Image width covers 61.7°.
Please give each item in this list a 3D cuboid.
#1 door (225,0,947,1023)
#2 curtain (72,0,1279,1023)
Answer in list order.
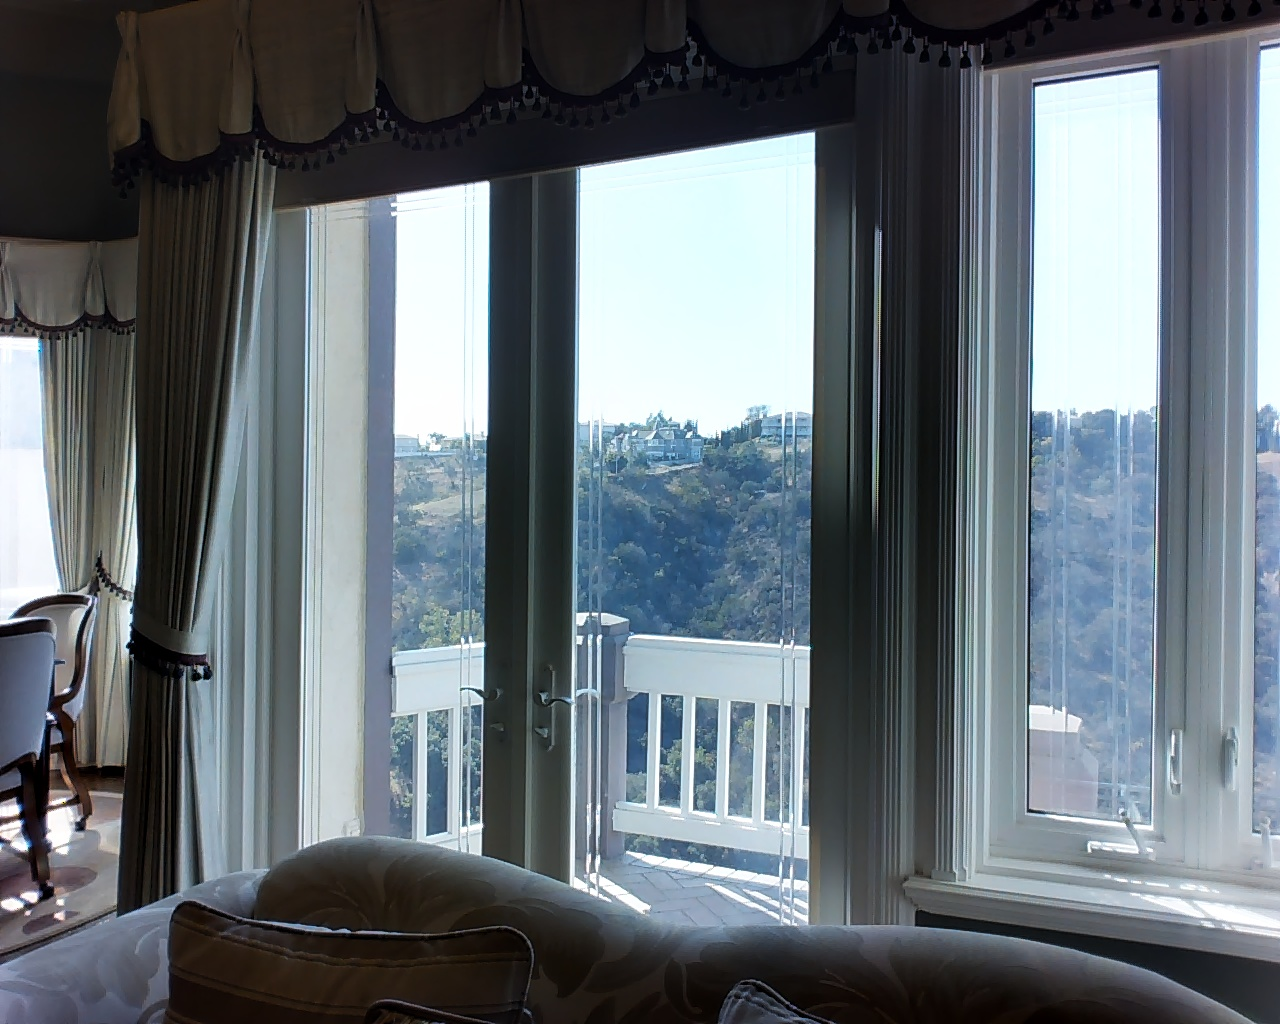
[{"bbox_3d":[-0.250,0.200,2.680,1.940,2.450,0.240,0,1,27],"label":"door"},{"bbox_3d":[0.120,-0.050,2.320,3.580,2.900,0.250,0,1,25],"label":"curtain"}]
